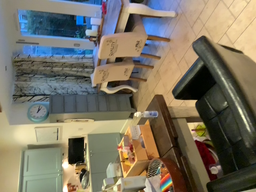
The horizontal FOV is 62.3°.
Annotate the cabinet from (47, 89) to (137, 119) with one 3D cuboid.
[{"bbox_3d":[-0.670,0.150,4.040,0.360,1.610,0.390,117,147,-51],"label":"cabinet"}]

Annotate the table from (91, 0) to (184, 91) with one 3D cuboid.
[{"bbox_3d":[-0.010,-0.950,3.420,1.780,0.810,0.850,116,148,-50],"label":"table"}]
